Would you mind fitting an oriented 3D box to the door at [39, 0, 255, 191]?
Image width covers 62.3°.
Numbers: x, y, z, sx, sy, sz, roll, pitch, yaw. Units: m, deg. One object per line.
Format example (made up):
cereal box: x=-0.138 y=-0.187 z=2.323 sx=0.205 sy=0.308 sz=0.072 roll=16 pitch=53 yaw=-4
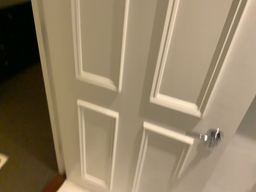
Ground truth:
door: x=0.030 y=-0.050 z=0.840 sx=0.820 sy=1.890 sz=0.040 roll=18 pitch=38 yaw=15
